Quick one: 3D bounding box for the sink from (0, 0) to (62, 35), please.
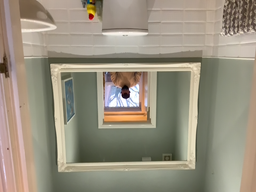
[{"bbox_3d":[-0.550,-0.390,1.020,0.340,0.150,0.460,-1,-168,-3],"label":"sink"}]

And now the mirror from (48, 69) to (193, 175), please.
[{"bbox_3d":[-0.060,0.270,2.080,1.320,1.040,0.070,-1,-168,-2],"label":"mirror"}]
